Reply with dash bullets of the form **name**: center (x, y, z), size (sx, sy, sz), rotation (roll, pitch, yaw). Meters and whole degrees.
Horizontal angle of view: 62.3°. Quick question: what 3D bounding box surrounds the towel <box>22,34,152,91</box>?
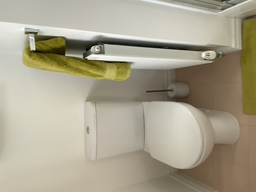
- **towel**: center (-0.230, -0.140, 1.100), size (0.410, 0.560, 0.190), rotation (-4, 89, 62)

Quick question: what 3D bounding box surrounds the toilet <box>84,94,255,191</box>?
- **toilet**: center (0.210, 0.210, 1.270), size (0.650, 0.760, 0.400), rotation (-1, 91, 62)
